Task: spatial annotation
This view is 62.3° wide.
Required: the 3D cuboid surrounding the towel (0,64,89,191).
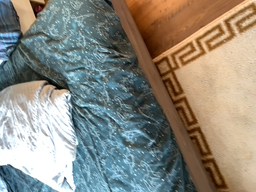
[{"bbox_3d":[-0.740,0.250,1.380,1.080,0.190,0.690,-9,90,38],"label":"towel"}]
